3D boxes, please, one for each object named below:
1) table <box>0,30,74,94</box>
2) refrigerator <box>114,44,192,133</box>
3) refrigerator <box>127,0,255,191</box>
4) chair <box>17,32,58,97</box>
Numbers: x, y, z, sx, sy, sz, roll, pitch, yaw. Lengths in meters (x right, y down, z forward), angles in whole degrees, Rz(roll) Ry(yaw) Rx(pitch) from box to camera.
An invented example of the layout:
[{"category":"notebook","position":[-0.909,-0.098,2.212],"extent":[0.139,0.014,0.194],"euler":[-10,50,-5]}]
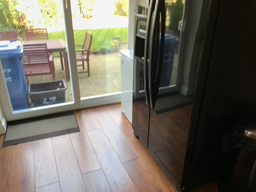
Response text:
[{"category":"table","position":[-1.980,-0.830,4.590],"extent":[1.210,0.880,1.480],"euler":[-11,28,-22]},{"category":"refrigerator","position":[0.260,-0.130,2.610],"extent":[0.680,0.840,0.580],"euler":[-11,28,-22]},{"category":"refrigerator","position":[0.540,-0.240,1.790],"extent":[0.770,1.770,0.920],"euler":[-11,28,-22]},{"category":"chair","position":[-1.680,-0.610,3.970],"extent":[0.510,1.020,0.630],"euler":[-11,28,-22]}]
